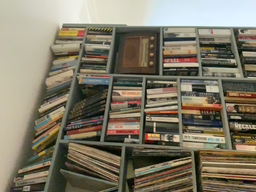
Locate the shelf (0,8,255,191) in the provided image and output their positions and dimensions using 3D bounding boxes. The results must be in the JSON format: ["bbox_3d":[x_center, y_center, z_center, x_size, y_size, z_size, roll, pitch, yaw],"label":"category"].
[{"bbox_3d":[0.600,0.350,1.260,0.410,2.490,2.090,85,-172,-59],"label":"shelf"}]
